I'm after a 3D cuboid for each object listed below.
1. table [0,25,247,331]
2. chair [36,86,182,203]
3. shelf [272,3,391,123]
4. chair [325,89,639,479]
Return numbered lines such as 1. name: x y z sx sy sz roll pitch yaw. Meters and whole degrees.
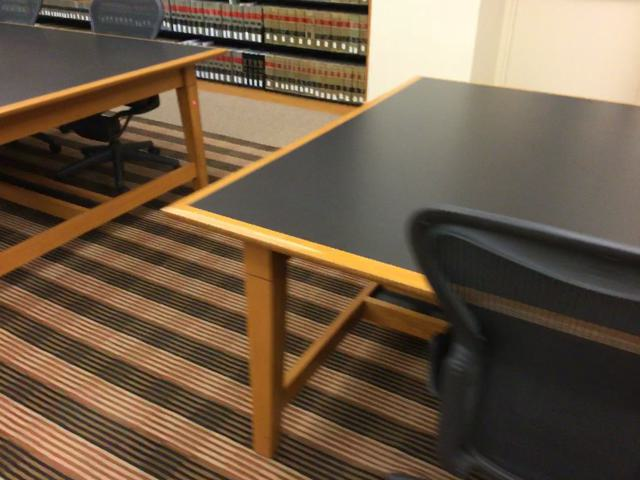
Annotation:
1. table: -1.240 -0.450 2.660 1.090 0.780 1.470 15 32 26
2. chair: -1.120 -0.540 3.140 0.440 0.430 0.530 15 32 26
3. shelf: 0.080 -1.330 4.290 0.750 0.730 0.390 15 32 26
4. chair: 0.440 0.300 1.140 0.620 0.980 0.650 15 32 26
